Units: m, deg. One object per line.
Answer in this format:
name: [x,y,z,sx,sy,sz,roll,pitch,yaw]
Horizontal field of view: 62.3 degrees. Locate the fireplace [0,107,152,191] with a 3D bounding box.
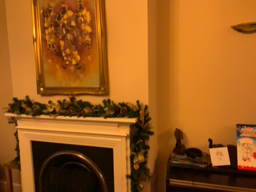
fireplace: [-0.530,0.780,1.970,1.380,1.240,0.650,0,6,18]
